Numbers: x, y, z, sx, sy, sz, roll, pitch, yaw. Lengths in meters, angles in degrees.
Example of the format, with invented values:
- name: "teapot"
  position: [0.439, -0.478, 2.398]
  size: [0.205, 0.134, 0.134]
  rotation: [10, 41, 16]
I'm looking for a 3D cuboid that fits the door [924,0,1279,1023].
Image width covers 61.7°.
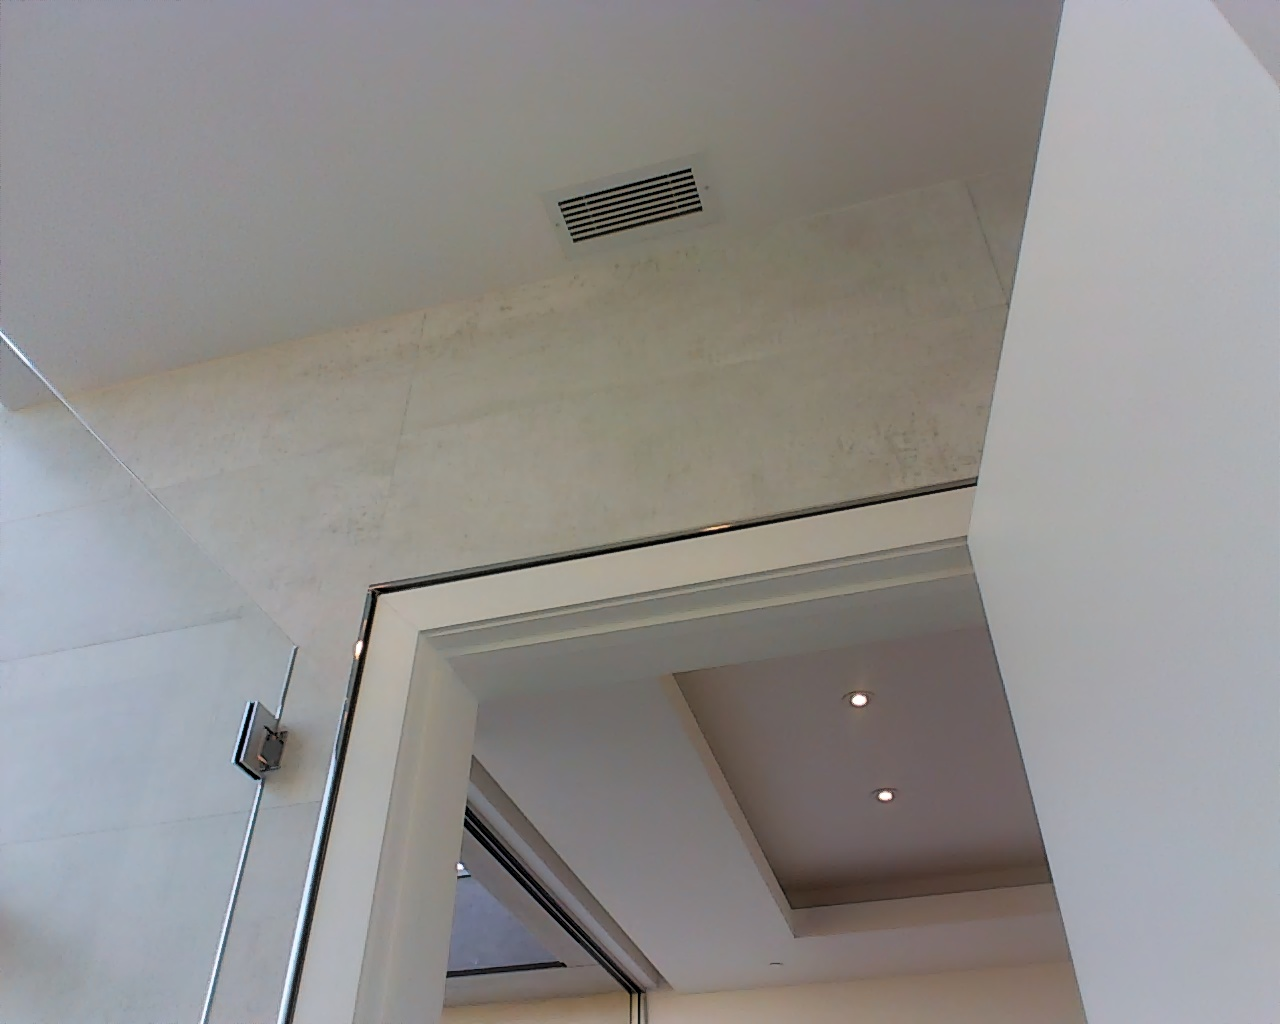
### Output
- name: "door"
  position: [0.380, 0.650, 0.320]
  size: [0.070, 2.490, 0.920]
  rotation: [-4, -39, 4]
